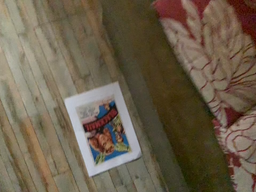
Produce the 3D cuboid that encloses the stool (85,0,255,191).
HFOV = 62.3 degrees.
[{"bbox_3d":[0.230,-0.060,0.630,0.420,0.300,0.820,-26,92,-5],"label":"stool"}]
